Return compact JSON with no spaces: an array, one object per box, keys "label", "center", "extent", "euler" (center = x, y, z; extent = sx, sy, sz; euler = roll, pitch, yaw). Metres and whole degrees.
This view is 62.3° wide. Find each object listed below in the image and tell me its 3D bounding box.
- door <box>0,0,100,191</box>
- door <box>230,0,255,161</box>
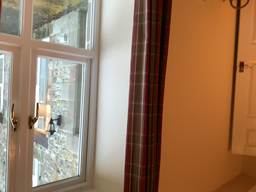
[{"label":"door","center":[-0.650,-0.440,1.320],"extent":[1.100,2.150,0.060],"euler":[1,-177,-45]},{"label":"door","center":[1.550,-0.290,2.260],"extent":[0.730,2.000,0.050],"euler":[3,-178,9]}]
